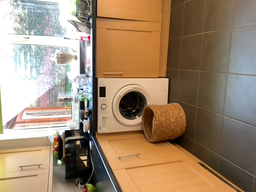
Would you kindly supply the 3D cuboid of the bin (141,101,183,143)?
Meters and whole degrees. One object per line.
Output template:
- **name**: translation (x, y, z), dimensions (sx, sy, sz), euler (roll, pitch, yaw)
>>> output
- **bin**: translation (0.350, 0.260, 2.250), dimensions (0.320, 0.300, 0.340), euler (-148, 59, -68)
